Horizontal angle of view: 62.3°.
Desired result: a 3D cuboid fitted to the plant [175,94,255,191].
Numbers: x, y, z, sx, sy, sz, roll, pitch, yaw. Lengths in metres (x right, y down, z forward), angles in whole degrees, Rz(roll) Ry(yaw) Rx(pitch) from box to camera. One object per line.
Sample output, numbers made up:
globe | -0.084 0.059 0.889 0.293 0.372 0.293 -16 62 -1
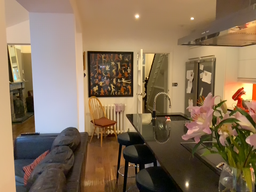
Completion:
plant | 0.450 0.260 0.920 0.360 0.500 0.340 -1 7 -11
